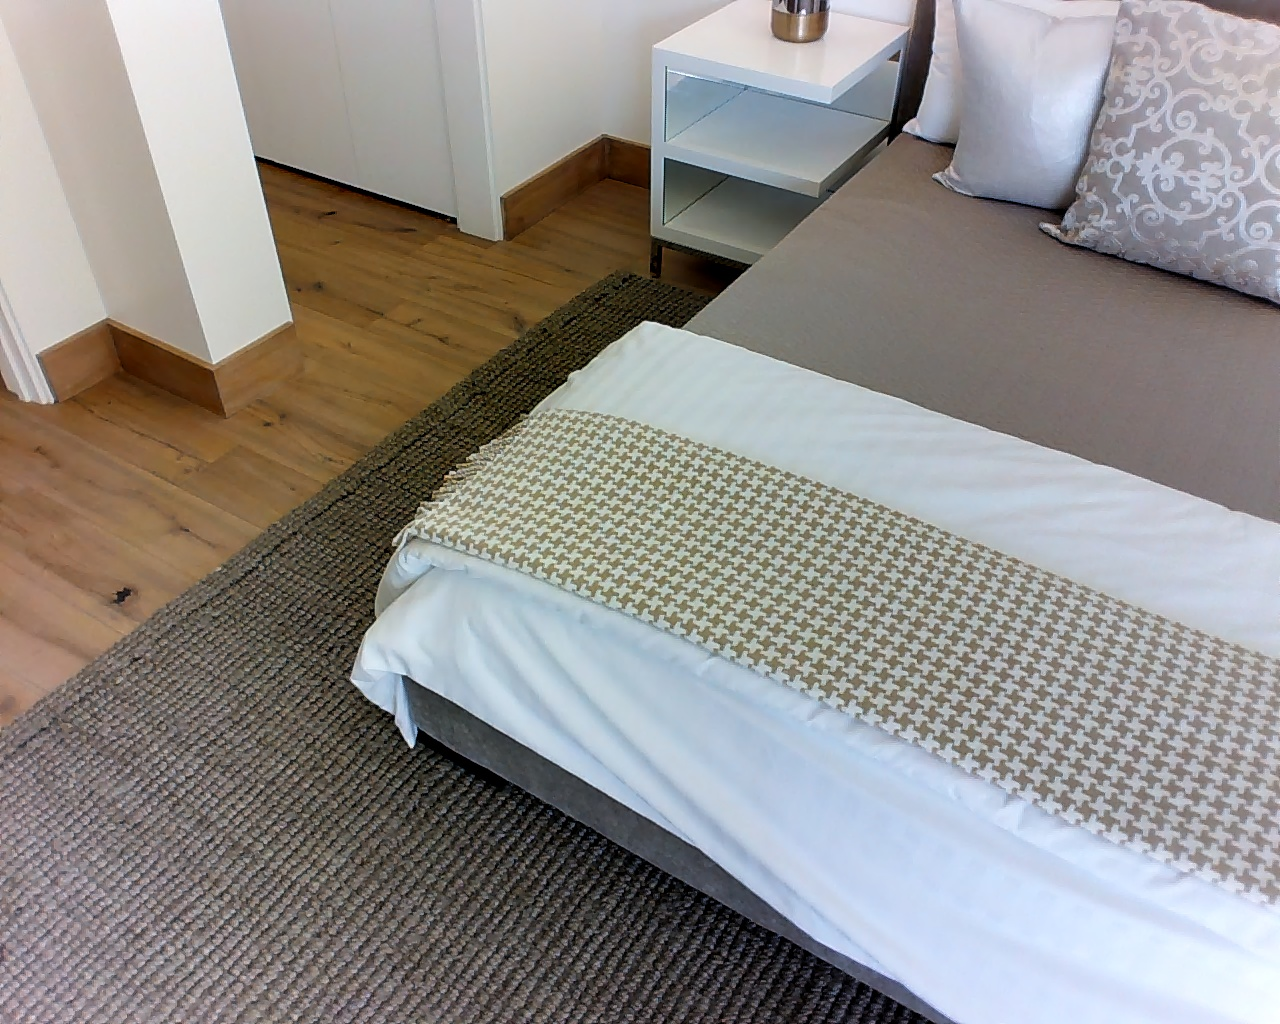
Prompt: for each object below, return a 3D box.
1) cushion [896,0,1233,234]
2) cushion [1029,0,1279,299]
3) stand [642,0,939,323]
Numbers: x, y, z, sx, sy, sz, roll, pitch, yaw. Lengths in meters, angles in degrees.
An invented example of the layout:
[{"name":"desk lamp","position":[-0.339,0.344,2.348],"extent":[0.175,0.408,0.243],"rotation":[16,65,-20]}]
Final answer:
[{"name":"cushion","position":[0.910,-0.930,2.360],"extent":[0.560,0.430,0.260],"rotation":[23,46,23]},{"name":"cushion","position":[1.160,-0.760,2.110],"extent":[0.580,0.490,0.330],"rotation":[23,46,23]},{"name":"stand","position":[0.410,-1.050,3.070],"extent":[0.570,0.680,0.610],"rotation":[22,46,23]}]
